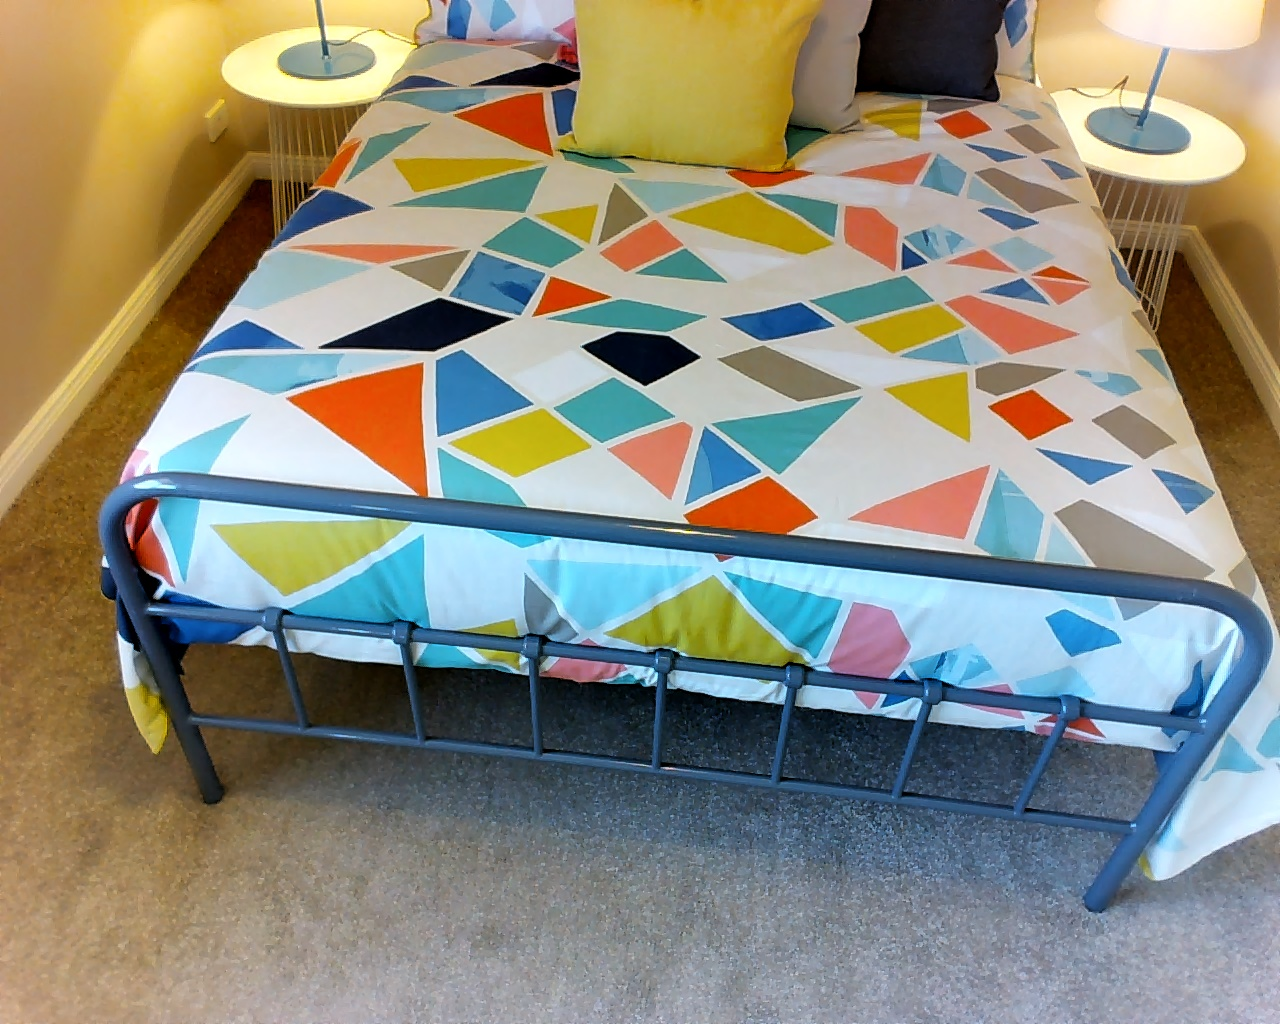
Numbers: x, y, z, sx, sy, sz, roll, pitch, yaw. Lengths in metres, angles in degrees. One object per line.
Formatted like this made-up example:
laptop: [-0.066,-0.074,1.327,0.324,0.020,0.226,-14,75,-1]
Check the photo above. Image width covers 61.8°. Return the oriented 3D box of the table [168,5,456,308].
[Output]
table: [-0.810,-0.940,2.810,0.490,0.520,0.590,5,43,2]

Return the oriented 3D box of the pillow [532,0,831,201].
pillow: [0.090,-0.780,1.880,0.460,0.330,0.240,-4,42,10]

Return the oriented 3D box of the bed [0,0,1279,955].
bed: [0.180,-0.400,2.130,1.880,0.710,2.110,5,43,2]

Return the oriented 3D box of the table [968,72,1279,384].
table: [1.210,-0.730,2.720,0.540,0.500,0.610,5,43,2]

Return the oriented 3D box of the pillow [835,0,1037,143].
pillow: [0.580,-0.930,2.130,0.360,0.270,0.190,-5,42,11]
